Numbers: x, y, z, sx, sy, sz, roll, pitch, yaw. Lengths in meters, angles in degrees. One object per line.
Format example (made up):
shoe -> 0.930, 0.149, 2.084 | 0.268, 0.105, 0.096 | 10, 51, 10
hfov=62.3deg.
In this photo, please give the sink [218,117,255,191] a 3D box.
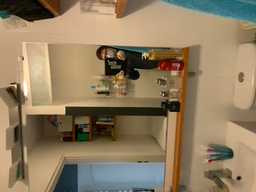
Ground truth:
sink -> 0.670, 0.460, 1.130 | 0.400, 0.150, 0.610 | -119, 30, -79
